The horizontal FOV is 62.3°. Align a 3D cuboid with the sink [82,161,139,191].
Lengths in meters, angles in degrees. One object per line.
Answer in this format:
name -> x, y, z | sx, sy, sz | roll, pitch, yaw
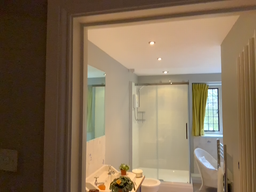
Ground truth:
sink -> -0.180, 1.050, 2.640 | 0.460, 0.260, 0.750 | 0, -3, 17
